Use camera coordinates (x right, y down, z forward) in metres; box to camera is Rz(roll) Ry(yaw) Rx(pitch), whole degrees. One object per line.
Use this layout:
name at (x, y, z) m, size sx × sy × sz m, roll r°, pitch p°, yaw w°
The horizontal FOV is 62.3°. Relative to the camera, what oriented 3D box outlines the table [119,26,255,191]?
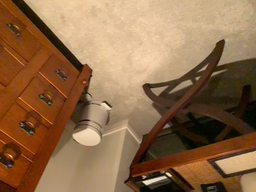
table at (0.430, 0.160, 1.160) m, size 0.660 × 0.690 × 0.550 m, roll -25°, pitch 123°, yaw 29°
